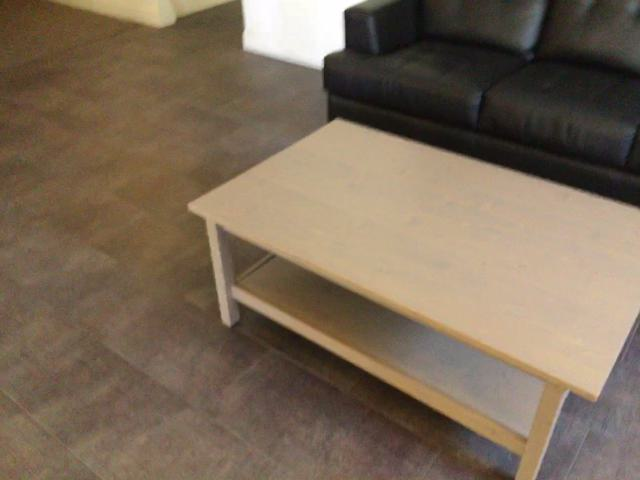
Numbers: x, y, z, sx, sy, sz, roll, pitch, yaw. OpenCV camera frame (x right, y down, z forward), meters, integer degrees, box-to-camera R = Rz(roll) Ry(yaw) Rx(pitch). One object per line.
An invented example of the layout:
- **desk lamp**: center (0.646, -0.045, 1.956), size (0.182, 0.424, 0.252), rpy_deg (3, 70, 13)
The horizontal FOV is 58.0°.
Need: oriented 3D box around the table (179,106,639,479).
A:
- **table**: center (0.300, 0.100, 1.780), size (1.210, 0.490, 0.770), rpy_deg (26, 45, 31)
